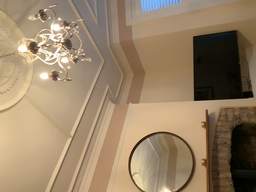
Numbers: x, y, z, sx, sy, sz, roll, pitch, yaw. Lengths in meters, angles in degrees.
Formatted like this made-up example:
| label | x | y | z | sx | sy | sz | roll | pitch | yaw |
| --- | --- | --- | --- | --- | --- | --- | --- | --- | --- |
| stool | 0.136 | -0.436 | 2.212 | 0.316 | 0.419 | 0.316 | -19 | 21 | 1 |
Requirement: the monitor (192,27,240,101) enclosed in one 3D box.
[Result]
| label | x | y | z | sx | sy | sz | roll | pitch | yaw |
| --- | --- | --- | --- | --- | --- | --- | --- | --- | --- |
| monitor | 1.290 | -0.480 | 3.180 | 0.060 | 0.620 | 1.110 | 35 | -124 | -62 |

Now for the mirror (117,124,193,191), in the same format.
| label | x | y | z | sx | sy | sz | roll | pitch | yaw |
| --- | --- | --- | --- | --- | --- | --- | --- | --- | --- |
| mirror | 0.380 | 0.820 | 2.770 | 0.200 | 0.850 | 0.930 | 60 | -145 | -47 |
